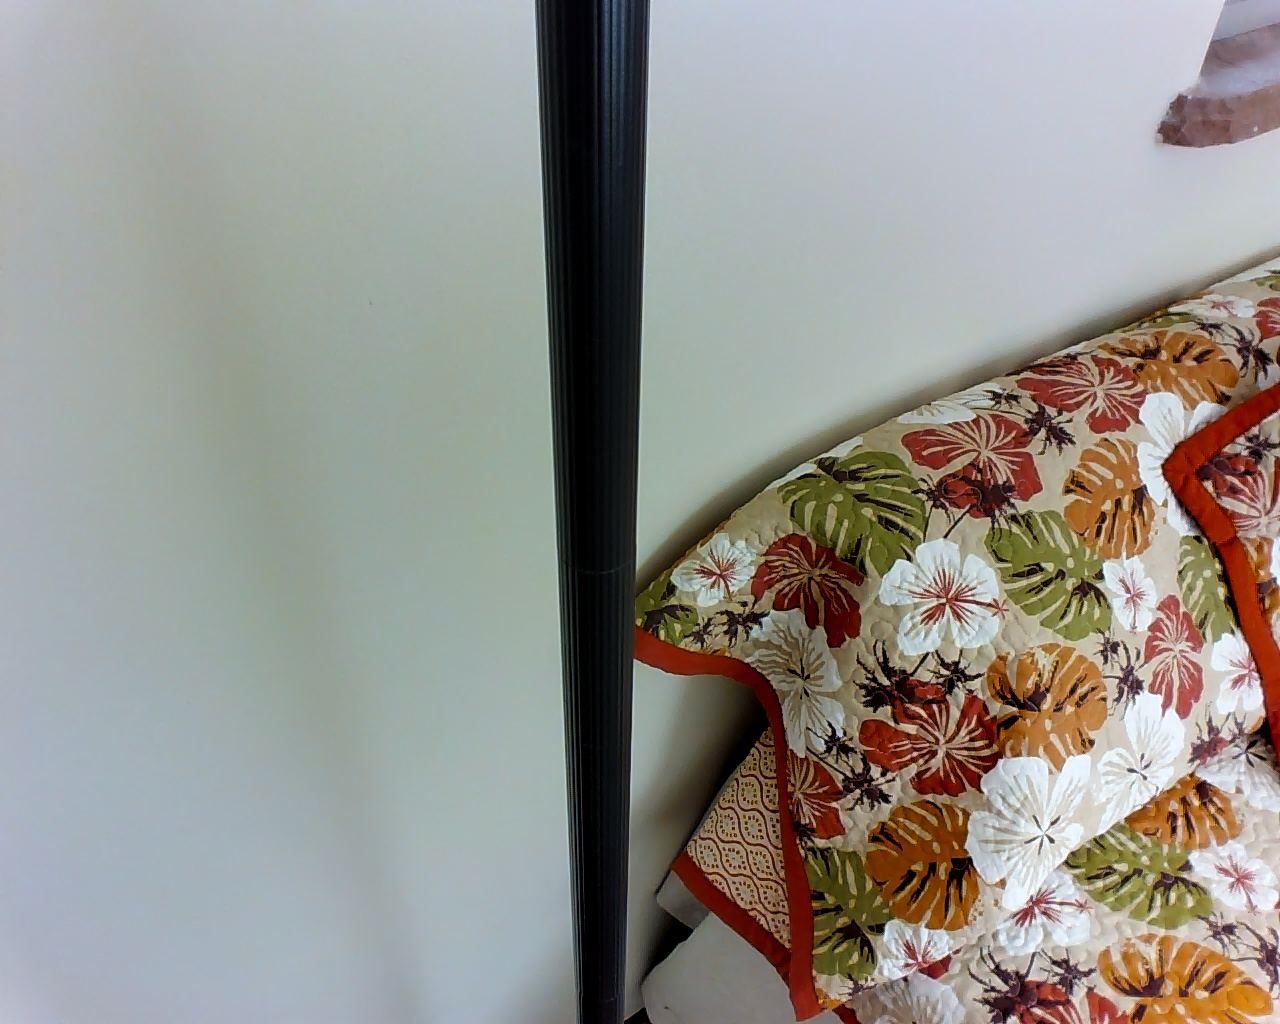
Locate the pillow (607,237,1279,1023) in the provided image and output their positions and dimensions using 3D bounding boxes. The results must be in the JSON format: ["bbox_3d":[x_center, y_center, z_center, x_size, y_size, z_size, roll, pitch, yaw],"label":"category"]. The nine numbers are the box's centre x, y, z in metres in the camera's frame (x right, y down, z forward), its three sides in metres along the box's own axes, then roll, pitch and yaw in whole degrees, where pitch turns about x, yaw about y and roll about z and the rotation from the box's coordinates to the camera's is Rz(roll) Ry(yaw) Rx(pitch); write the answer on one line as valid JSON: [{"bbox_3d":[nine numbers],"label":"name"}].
[{"bbox_3d":[0.980,-0.120,1.310,2.190,0.450,0.330,-23,47,-25],"label":"pillow"}]
